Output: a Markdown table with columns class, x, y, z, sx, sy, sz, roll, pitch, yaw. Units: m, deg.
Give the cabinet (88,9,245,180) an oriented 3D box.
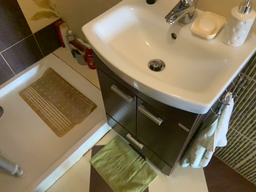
| class | x | y | z | sx | sy | sz | roll | pitch | yaw |
| --- | --- | --- | --- | --- | --- | --- | --- | --- | --- |
| cabinet | 0.140 | 0.050 | 1.090 | 0.480 | 0.730 | 0.330 | 37 | 64 | 23 |
